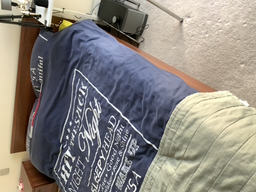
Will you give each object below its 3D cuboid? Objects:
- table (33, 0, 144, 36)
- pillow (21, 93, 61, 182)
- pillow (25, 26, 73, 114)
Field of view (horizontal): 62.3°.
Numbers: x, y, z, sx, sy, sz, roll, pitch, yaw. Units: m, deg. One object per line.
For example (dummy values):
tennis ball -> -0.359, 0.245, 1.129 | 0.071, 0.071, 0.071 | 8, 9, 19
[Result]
table -> -0.240, -0.960, 1.630 | 0.390, 0.740, 0.790 | 40, 121, 41
pillow -> -0.830, 0.380, 1.970 | 0.400, 0.140, 0.710 | 42, 123, 40
pillow -> -0.670, -0.210, 1.740 | 0.360, 0.180, 0.600 | 42, 122, 41
